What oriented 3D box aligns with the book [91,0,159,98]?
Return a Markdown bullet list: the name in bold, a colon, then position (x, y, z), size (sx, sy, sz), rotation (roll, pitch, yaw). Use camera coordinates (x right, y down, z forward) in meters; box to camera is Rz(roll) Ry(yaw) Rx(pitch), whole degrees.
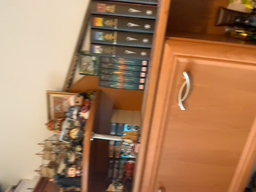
- **book**: position (-0.010, -0.270, 0.840), size (0.210, 0.210, 0.490), rotation (-84, 1, -66)
